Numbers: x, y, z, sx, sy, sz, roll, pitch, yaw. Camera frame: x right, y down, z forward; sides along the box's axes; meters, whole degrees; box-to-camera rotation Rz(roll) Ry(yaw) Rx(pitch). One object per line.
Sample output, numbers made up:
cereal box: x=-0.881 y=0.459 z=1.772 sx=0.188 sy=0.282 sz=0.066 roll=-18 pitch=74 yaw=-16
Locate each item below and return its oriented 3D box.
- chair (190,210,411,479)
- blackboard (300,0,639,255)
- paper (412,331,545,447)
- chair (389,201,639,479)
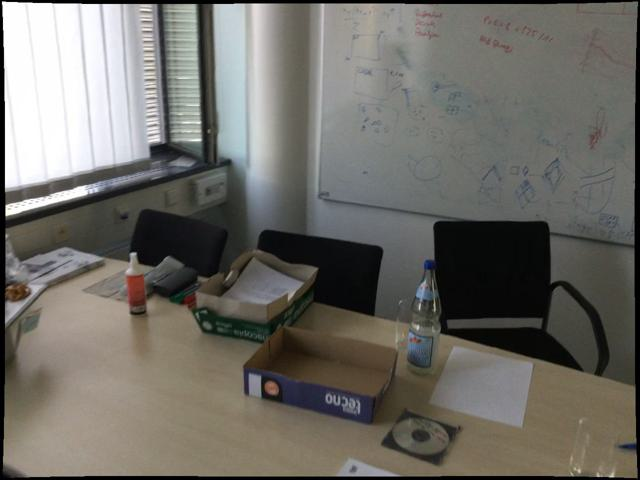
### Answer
chair: x=-0.050 y=0.340 z=1.950 sx=0.540 sy=0.711 sz=0.450 roll=12 pitch=25 yaw=27
blackboard: x=0.879 y=-0.731 z=2.270 sx=2.138 sy=1.461 sz=0.150 roll=12 pitch=25 yaw=27
paper: x=0.390 y=0.340 z=1.390 sx=0.230 sy=0.040 sz=0.330 roll=12 pitch=25 yaw=27
chair: x=0.649 y=0.310 z=2.050 sx=0.659 sy=0.701 sz=0.700 roll=-1 pitch=22 yaw=-4
